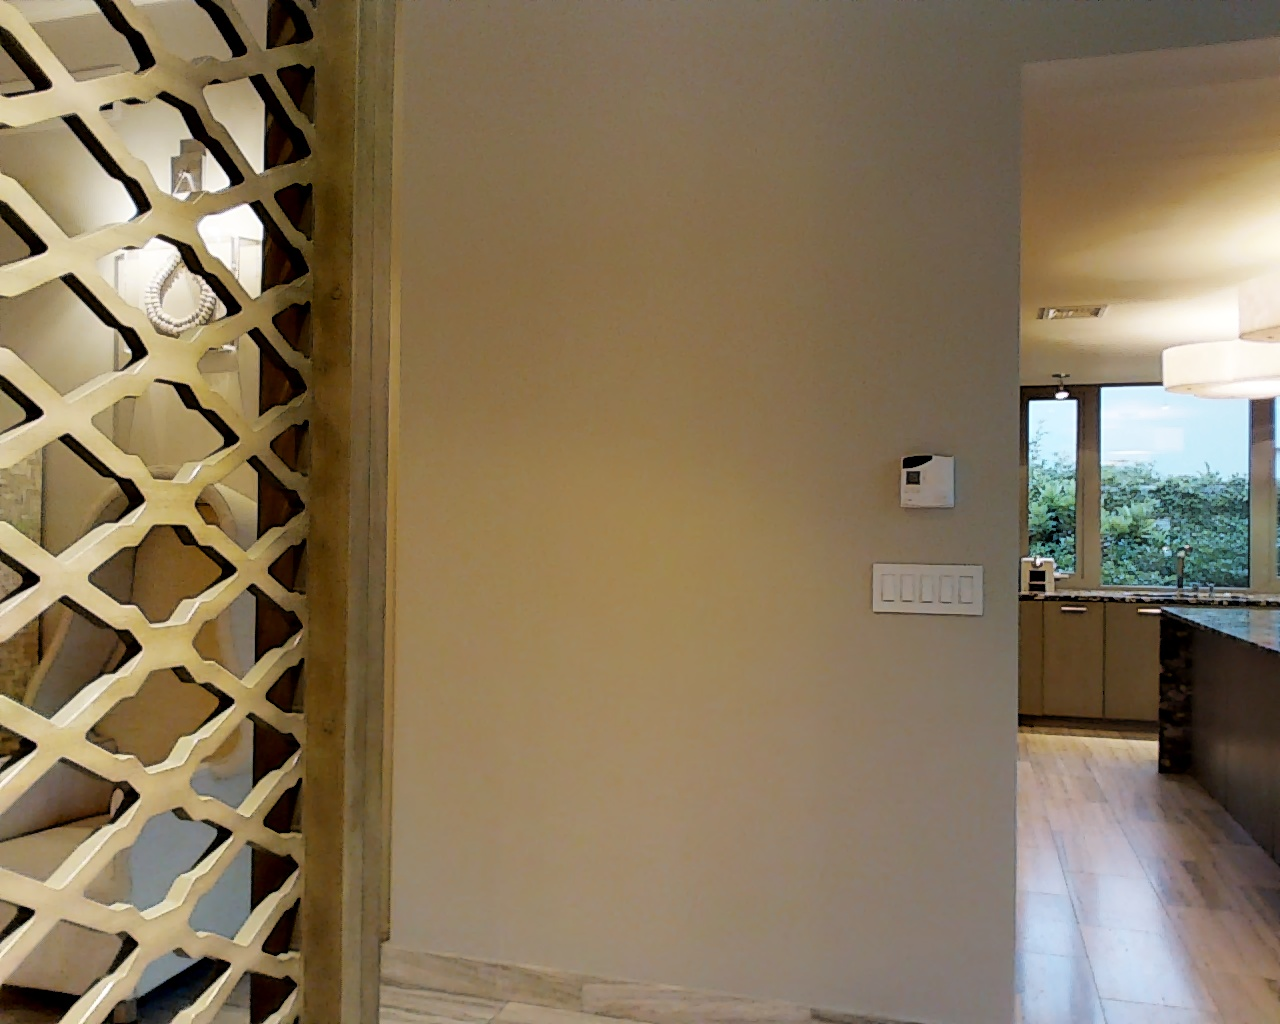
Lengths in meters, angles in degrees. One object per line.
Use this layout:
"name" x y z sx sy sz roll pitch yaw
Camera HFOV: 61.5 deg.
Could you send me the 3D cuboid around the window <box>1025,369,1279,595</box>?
"window" 3.990 -0.210 7.720 2.280 1.550 0.380 1 -1 18
